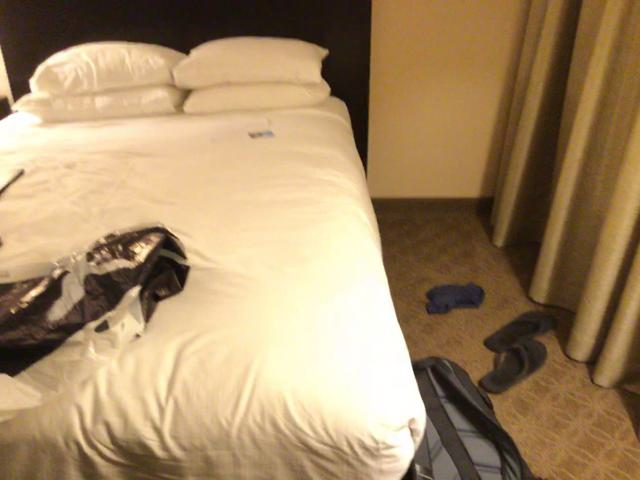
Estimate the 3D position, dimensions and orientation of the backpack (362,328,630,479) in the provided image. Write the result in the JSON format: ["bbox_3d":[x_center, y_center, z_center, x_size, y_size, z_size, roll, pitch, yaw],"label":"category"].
[{"bbox_3d":[0.360,0.520,1.390,0.460,0.370,0.480,5,25,0],"label":"backpack"}]

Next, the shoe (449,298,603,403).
[{"bbox_3d":[0.680,0.360,1.970,0.320,0.120,0.400,-1,26,-13],"label":"shoe"}]
